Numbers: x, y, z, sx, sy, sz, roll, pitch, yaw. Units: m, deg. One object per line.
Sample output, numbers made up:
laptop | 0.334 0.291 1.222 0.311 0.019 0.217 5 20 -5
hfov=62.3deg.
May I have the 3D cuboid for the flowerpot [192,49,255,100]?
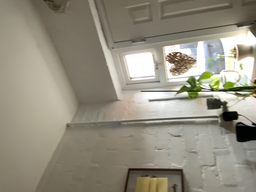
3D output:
flowerpot | 0.750 -0.160 1.620 0.240 0.470 0.260 -77 -22 -52
